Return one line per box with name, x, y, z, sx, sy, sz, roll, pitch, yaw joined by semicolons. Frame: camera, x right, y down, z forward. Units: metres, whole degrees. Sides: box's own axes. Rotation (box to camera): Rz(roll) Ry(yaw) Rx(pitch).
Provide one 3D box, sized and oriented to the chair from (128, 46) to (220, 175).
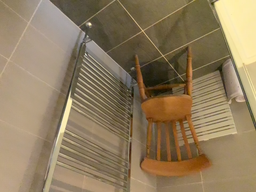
chair;0.320;0.120;1.680;0.520;0.830;0.550;-4;143;10
